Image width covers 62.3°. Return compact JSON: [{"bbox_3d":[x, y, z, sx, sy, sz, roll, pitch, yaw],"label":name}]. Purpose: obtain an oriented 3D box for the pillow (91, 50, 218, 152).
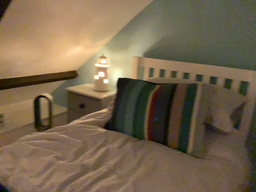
[{"bbox_3d":[0.120,0.050,1.190,0.590,0.390,0.190,-21,-2,34],"label":"pillow"}]
